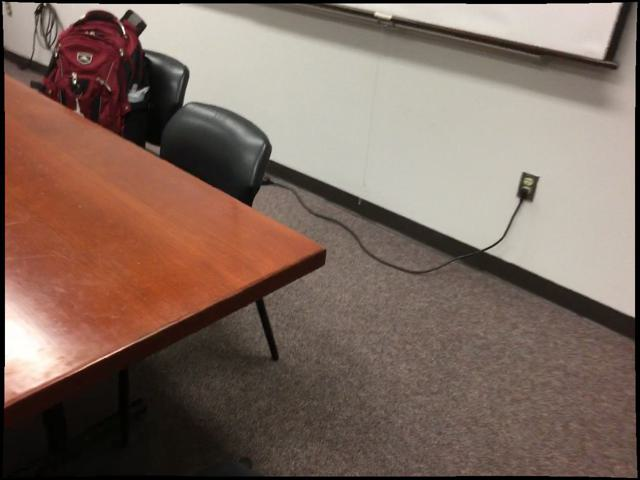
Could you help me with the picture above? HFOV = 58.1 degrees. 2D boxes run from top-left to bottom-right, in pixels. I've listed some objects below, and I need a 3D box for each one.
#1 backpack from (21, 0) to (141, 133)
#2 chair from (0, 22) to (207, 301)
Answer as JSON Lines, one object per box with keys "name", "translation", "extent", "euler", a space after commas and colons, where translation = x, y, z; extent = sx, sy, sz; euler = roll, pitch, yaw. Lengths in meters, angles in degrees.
{"name": "backpack", "translation": [-0.848, -0.622, 2.070], "extent": [0.249, 0.411, 0.280], "euler": [12, 9, 1]}
{"name": "chair", "translation": [-0.788, -0.321, 2.170], "extent": [0.469, 0.832, 0.540], "euler": [26, 35, 31]}
